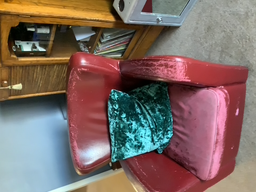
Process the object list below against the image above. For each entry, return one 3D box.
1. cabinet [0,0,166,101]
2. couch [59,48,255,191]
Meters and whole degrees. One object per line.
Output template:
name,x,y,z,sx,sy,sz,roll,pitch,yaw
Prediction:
cabinet,-0.440,-0.410,1.730,0.800,1.200,0.420,-50,56,47
couch,0.140,0.110,1.300,0.780,0.840,0.760,16,109,54
